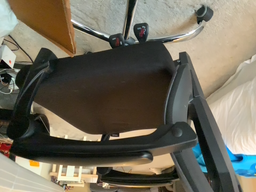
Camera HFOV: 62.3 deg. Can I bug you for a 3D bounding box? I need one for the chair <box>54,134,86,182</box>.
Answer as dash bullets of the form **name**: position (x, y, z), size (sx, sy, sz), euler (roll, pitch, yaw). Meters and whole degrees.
- **chair**: position (-0.720, 0.800, 2.700), size (0.290, 0.520, 0.340), euler (6, 153, -7)
